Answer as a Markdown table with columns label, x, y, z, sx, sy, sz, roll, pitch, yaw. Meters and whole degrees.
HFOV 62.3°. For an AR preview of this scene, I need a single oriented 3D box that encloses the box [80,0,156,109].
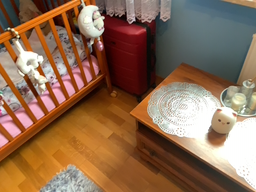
| label | x | y | z | sx | sy | sz | roll | pitch | yaw |
| --- | --- | --- | --- | --- | --- | --- | --- | --- | --- |
| box | -0.040 | -0.300 | 1.670 | 0.460 | 0.770 | 0.210 | 21 | 53 | 23 |
